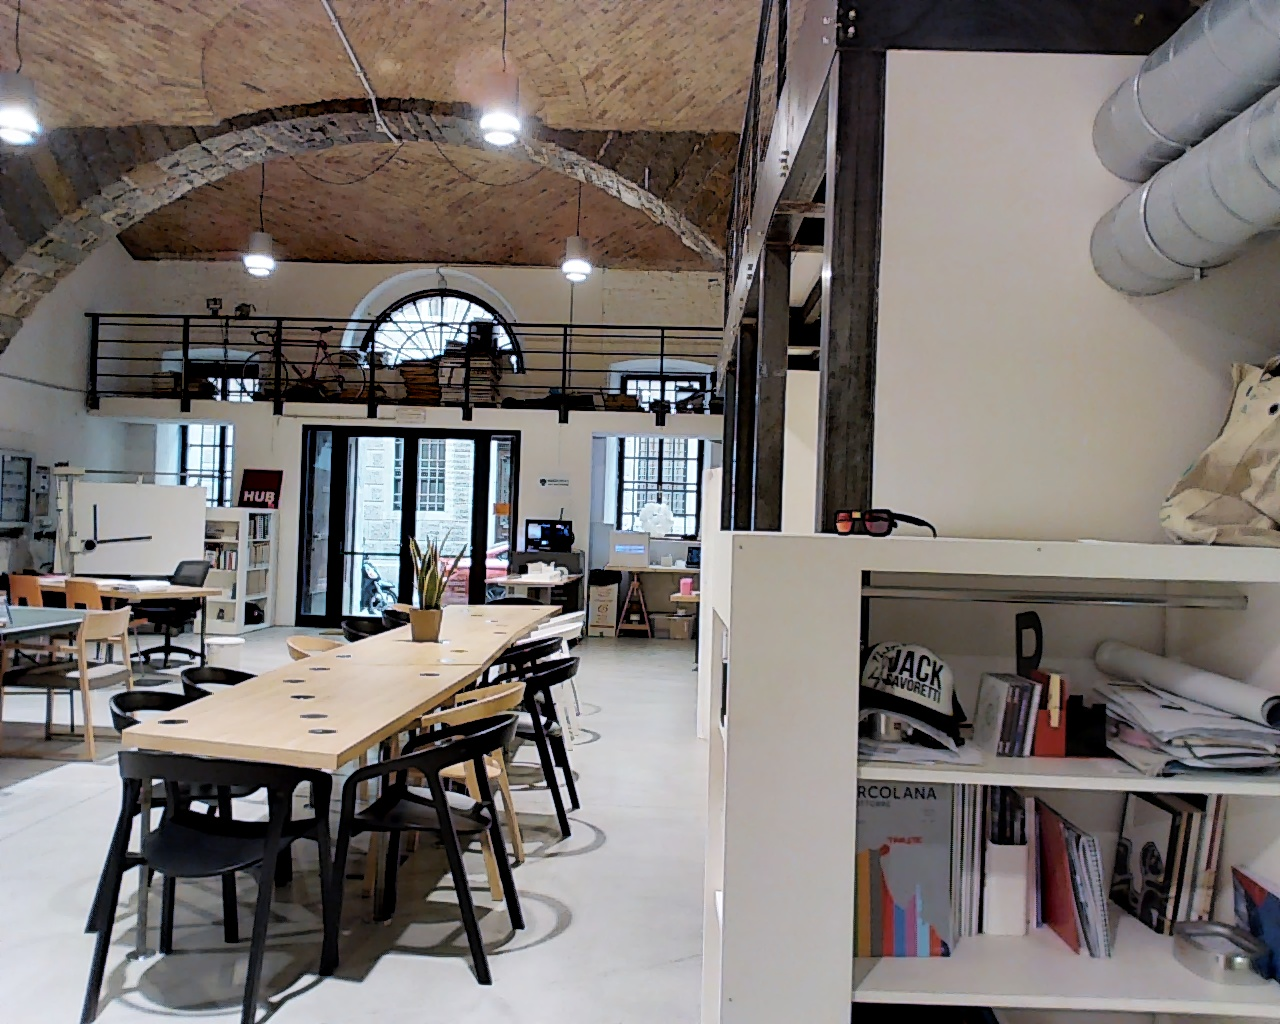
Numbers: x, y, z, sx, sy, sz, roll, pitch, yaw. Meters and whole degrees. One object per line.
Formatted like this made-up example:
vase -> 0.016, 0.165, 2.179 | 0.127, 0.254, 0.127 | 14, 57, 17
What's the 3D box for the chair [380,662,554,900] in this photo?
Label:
chair -> -0.680, 1.060, 4.410 | 0.540, 0.780, 0.710 | 2, 0, 3
